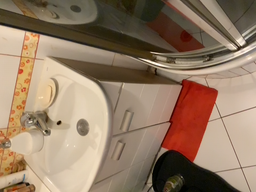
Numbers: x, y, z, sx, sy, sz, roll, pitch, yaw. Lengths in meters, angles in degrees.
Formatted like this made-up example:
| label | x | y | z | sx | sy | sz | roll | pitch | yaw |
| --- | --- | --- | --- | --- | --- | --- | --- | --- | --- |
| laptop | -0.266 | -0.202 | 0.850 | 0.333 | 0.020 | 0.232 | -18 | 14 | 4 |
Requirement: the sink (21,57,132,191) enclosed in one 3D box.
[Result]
| label | x | y | z | sx | sy | sz | roll | pitch | yaw |
| --- | --- | --- | --- | --- | --- | --- | --- | --- | --- |
| sink | -0.240 | 0.130 | 0.900 | 0.350 | 0.170 | 0.480 | 27 | 107 | 32 |
